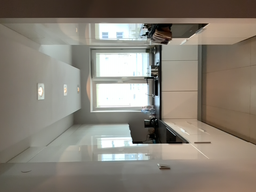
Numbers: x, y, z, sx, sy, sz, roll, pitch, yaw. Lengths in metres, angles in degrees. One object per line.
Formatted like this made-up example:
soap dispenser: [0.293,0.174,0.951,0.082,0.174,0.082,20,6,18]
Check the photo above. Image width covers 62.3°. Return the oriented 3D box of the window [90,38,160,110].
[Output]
window: [-0.070,-0.480,4.750,0.120,1.530,1.580,-127,37,-86]

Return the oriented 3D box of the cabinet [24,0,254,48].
cabinet: [0.150,-0.940,2.640,0.390,2.650,0.600,-119,29,-85]

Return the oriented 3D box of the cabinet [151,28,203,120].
cabinet: [0.990,-0.440,4.510,0.780,0.860,1.780,-122,33,-86]
